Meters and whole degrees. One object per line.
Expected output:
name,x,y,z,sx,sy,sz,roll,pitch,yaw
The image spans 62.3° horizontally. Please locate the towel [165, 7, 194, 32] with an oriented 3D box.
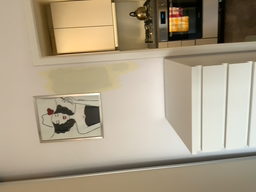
towel,0.670,-1.000,2.780,0.160,0.330,0.280,-110,16,-75
